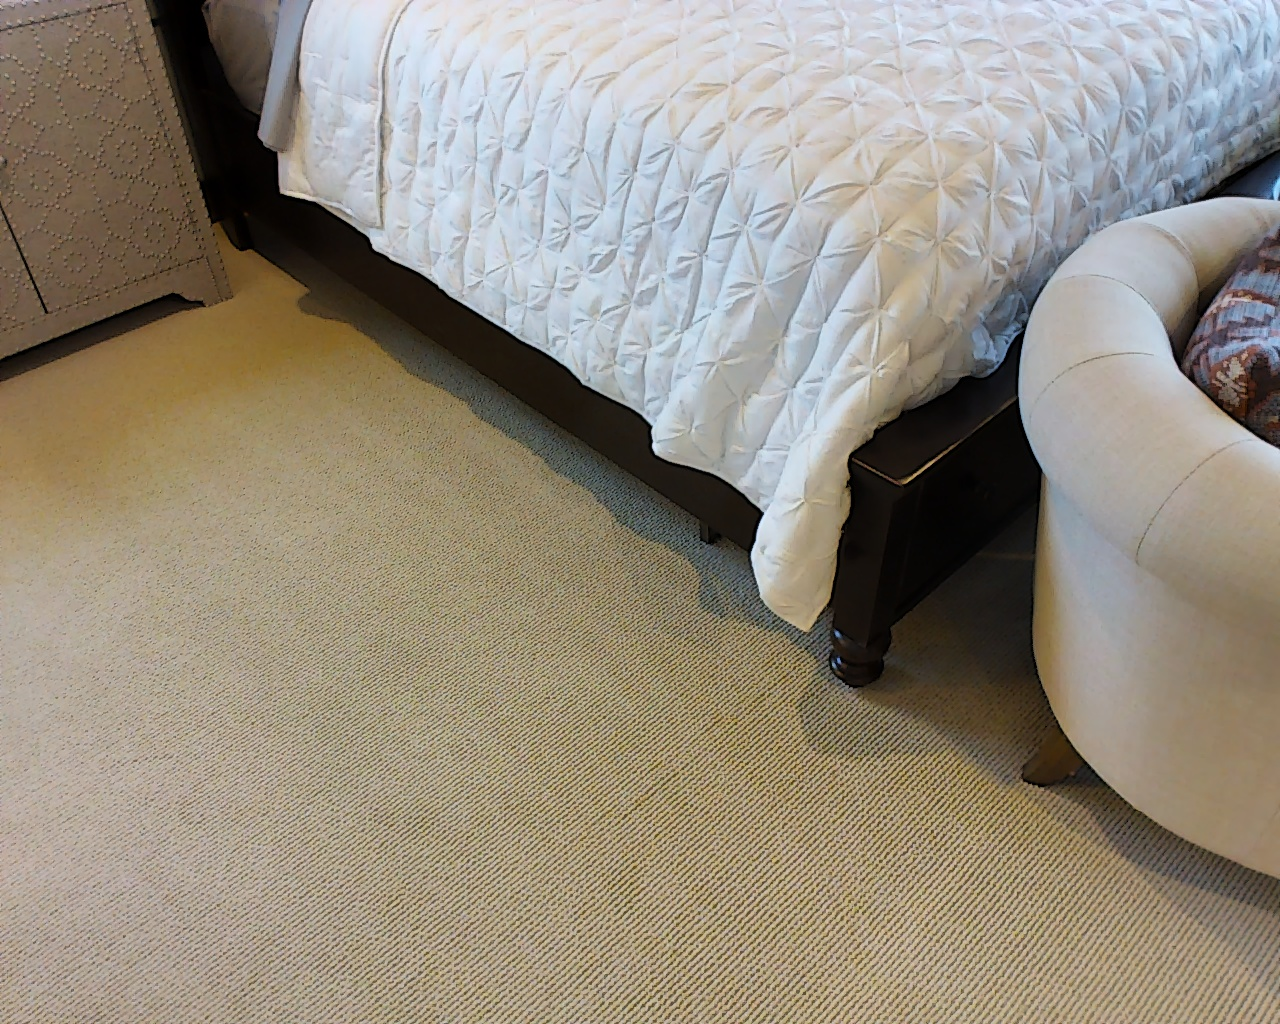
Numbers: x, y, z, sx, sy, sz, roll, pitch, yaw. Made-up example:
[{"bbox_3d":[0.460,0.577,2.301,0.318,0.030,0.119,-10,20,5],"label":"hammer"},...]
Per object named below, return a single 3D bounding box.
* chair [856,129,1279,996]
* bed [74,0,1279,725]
[{"bbox_3d":[0.870,0.050,1.490,0.810,0.720,0.870,18,46,20],"label":"chair"},{"bbox_3d":[0.250,-1.160,2.540,2.230,1.140,2.320,-33,51,-30],"label":"bed"}]
